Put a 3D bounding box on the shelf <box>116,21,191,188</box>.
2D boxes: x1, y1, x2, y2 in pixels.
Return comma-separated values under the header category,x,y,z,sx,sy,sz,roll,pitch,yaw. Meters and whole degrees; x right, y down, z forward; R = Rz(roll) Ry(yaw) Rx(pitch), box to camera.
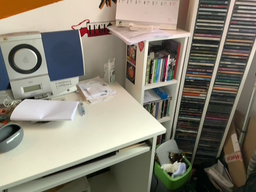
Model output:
category,x,y,z,sx,sy,sz,roll,pitch,yaw
shelf,0.100,0.090,1.300,0.240,0.990,0.280,-12,34,-24
